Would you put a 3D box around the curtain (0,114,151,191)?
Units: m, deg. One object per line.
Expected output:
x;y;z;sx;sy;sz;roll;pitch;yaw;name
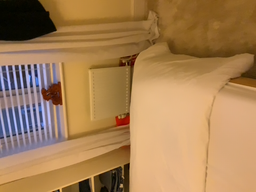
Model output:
-0.740;0.550;1.810;0.190;2.250;0.280;26;120;51;curtain

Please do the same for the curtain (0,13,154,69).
-0.700;-0.400;1.530;0.200;2.140;0.340;24;119;52;curtain

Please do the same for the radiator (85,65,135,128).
-0.160;-0.010;2.080;0.100;0.470;0.550;18;114;54;radiator

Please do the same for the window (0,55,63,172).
-1.090;0.190;1.670;0.060;1.080;0.950;27;121;51;window
